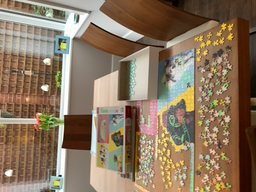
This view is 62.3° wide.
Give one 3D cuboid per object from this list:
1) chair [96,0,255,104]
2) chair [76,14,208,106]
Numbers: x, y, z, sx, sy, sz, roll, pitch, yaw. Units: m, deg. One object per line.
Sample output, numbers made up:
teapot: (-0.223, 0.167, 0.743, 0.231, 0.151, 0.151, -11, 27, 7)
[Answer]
chair: (0.350, -0.240, 1.290, 0.460, 0.960, 0.540, -5, 82, 64)
chair: (0.120, -0.210, 1.750, 0.480, 0.960, 0.550, -5, 82, 64)
